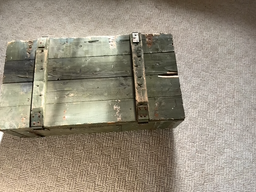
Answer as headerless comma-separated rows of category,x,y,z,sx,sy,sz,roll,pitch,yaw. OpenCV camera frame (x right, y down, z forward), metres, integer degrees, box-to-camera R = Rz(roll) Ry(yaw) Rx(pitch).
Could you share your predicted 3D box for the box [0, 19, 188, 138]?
box,-0.160,-0.080,1.110,0.800,0.280,0.500,-4,71,-2
